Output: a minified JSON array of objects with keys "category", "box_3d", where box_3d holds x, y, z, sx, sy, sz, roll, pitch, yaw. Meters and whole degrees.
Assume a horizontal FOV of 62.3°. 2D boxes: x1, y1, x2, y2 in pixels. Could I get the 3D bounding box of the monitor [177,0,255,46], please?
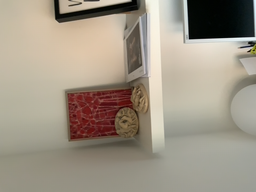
[{"category":"monitor","box_3d":[0.470,-0.480,0.910,0.030,0.520,0.510,-159,69,-80]}]
